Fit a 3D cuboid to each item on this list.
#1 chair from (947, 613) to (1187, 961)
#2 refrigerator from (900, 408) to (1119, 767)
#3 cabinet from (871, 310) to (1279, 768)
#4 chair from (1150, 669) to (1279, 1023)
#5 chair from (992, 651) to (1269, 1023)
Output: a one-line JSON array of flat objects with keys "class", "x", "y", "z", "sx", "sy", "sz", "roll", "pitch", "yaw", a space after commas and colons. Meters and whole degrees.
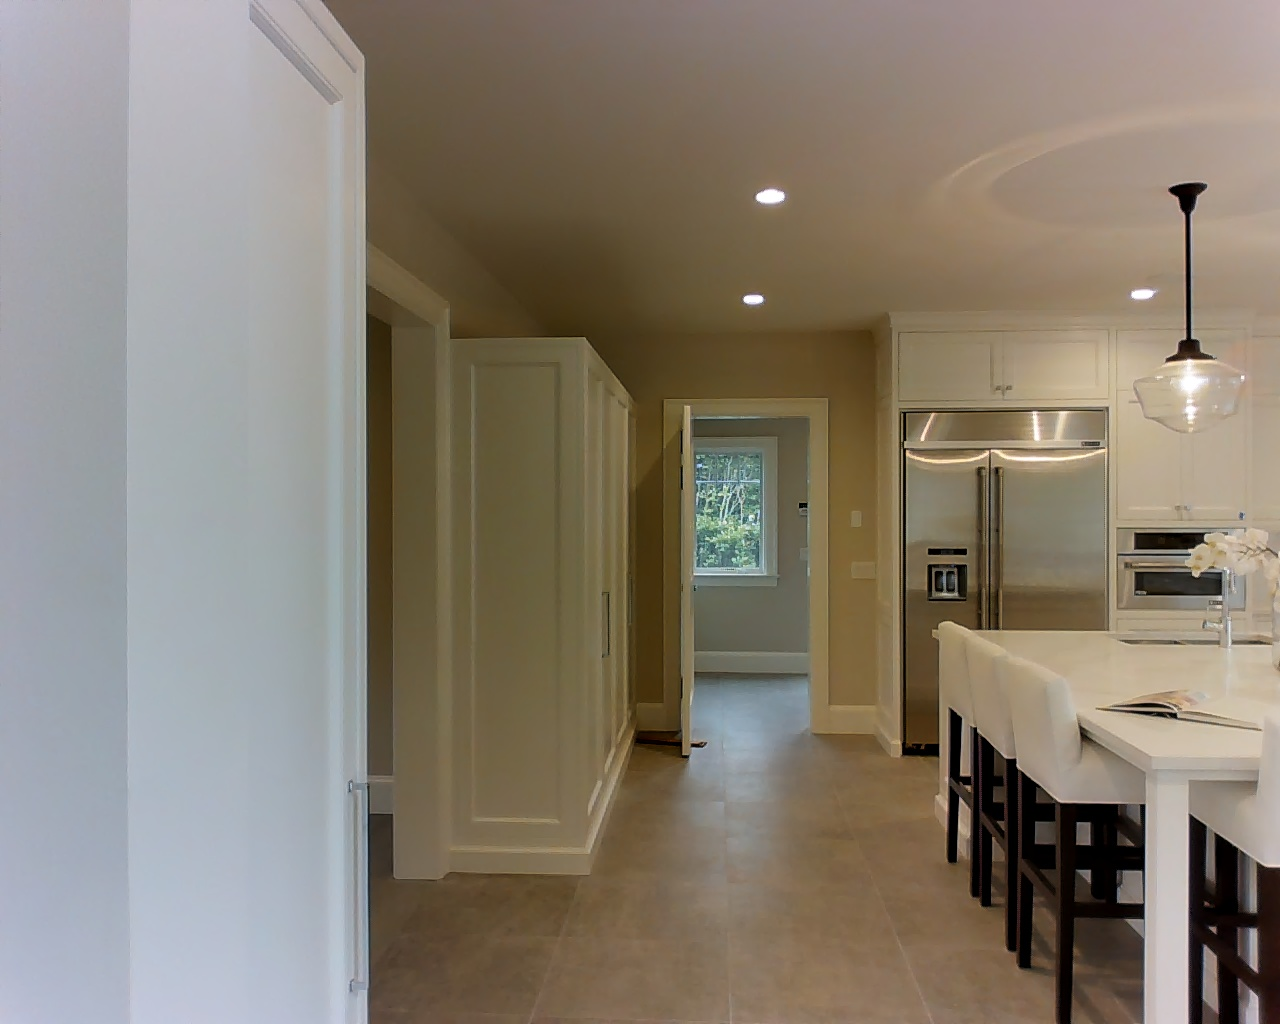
[{"class": "chair", "x": 1.550, "y": 0.970, "z": 3.990, "sx": 0.660, "sy": 1.130, "sz": 0.610, "roll": 0, "pitch": 0, "yaw": 2}, {"class": "refrigerator", "x": 2.250, "y": 0.450, "z": 6.590, "sx": 1.250, "sy": 2.160, "sz": 0.150, "roll": 1, "pitch": 0, "yaw": 5}, {"class": "cabinet", "x": 3.320, "y": 0.160, "z": 6.840, "sx": 3.559, "sy": 2.740, "sz": 0.710, "roll": 0, "pitch": 0, "yaw": 5}, {"class": "chair", "x": 1.760, "y": 1.000, "z": 2.820, "sx": 0.580, "sy": 1.080, "sz": 0.630, "roll": 0, "pitch": 0, "yaw": 5}, {"class": "chair", "x": 1.510, "y": 1.010, "z": 3.400, "sx": 0.630, "sy": 1.060, "sz": 0.600, "roll": 0, "pitch": 0, "yaw": 5}]
